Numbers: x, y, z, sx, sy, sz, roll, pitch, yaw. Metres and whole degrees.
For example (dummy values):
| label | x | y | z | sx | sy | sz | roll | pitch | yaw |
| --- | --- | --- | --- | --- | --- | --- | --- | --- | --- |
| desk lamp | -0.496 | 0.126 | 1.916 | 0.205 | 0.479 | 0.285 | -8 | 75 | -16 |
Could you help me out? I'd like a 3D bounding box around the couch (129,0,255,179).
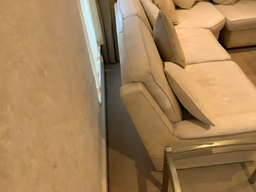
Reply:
| label | x | y | z | sx | sy | sz | roll | pitch | yaw |
| --- | --- | --- | --- | --- | --- | --- | --- | --- | --- |
| couch | 0.530 | -0.280 | 1.660 | 0.880 | 0.840 | 1.420 | -6 | 43 | -2 |
